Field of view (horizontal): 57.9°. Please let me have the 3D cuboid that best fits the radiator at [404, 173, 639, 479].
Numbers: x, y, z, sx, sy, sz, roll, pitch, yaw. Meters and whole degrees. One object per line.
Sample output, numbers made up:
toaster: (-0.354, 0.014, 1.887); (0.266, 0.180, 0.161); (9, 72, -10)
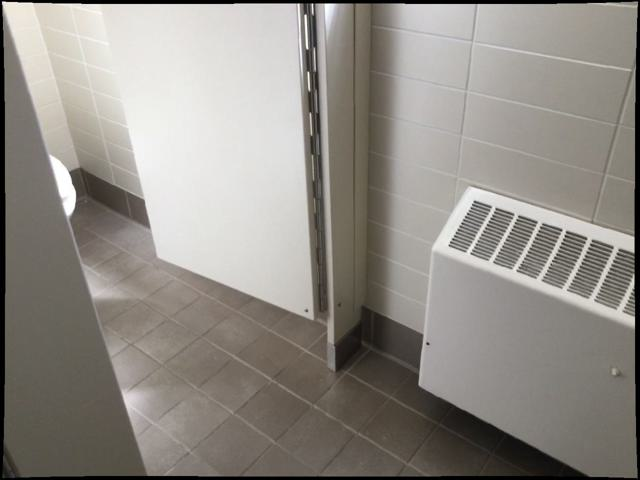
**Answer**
radiator: (0.609, 0.260, 1.180); (0.880, 0.540, 0.180); (24, 42, 32)
